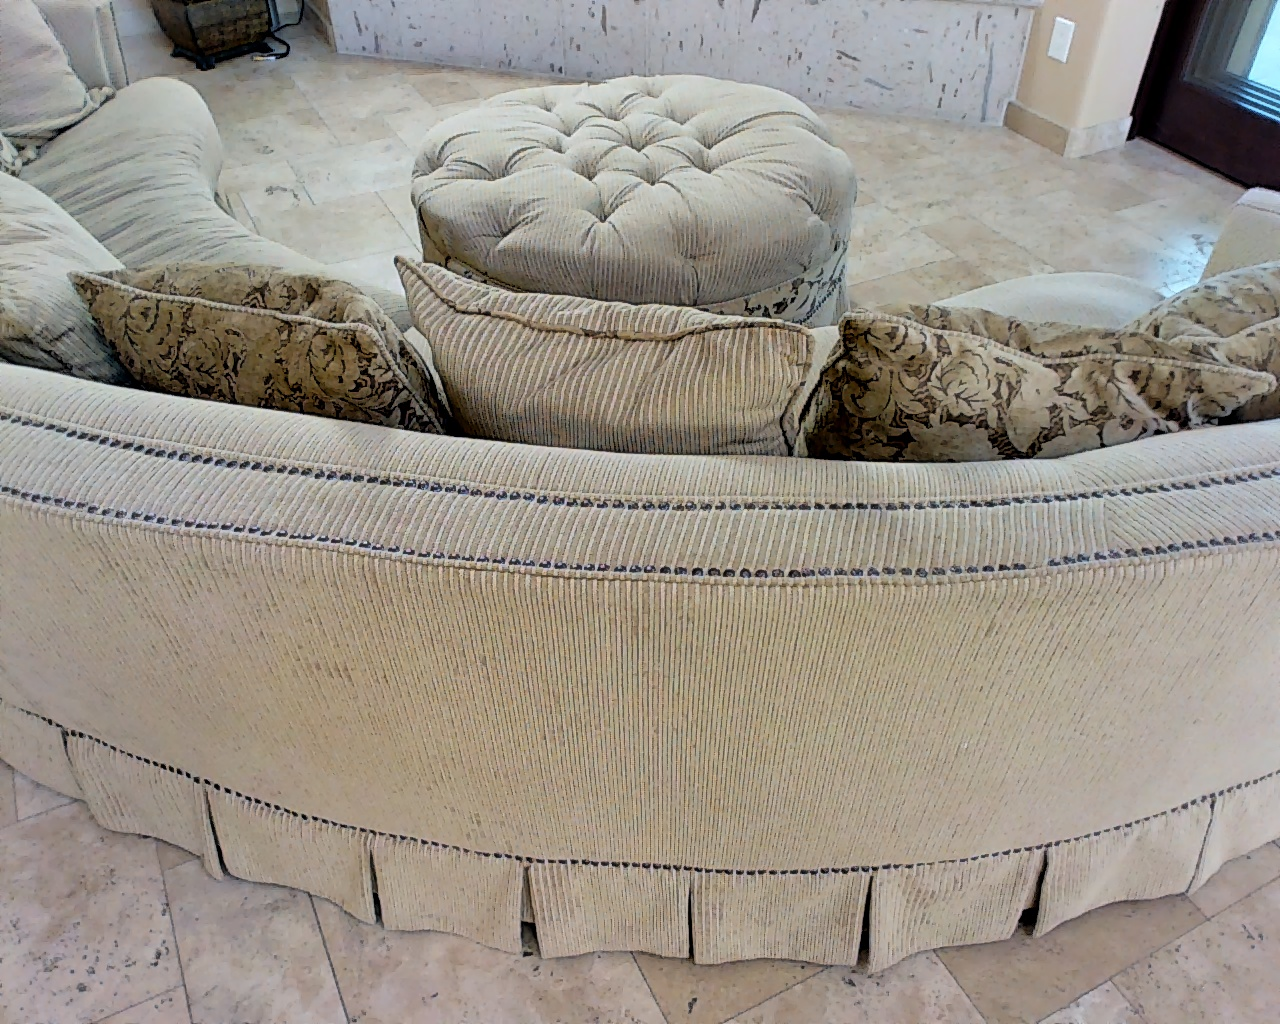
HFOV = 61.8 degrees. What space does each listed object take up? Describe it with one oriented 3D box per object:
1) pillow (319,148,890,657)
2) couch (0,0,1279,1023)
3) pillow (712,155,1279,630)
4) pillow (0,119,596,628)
[{"bbox_3d":[-0.020,-0.160,1.440,0.600,0.450,0.400,10,43,11],"label":"pillow"},{"bbox_3d":[-0.470,-0.390,2.100,4.071,0.850,2.080,17,44,18],"label":"couch"},{"bbox_3d":[0.470,-0.180,1.480,0.630,0.410,0.380,-12,43,-13],"label":"pillow"},{"bbox_3d":[-0.450,-0.220,1.520,0.640,0.430,0.440,14,44,16],"label":"pillow"}]
